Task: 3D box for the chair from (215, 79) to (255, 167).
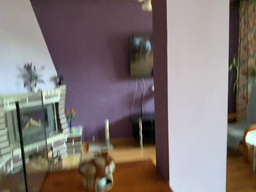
[{"bbox_3d":[1.900,0.330,3.130,0.840,1.070,0.760,-4,9,-7],"label":"chair"}]
